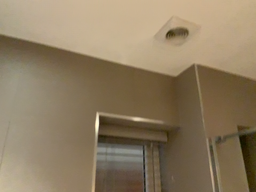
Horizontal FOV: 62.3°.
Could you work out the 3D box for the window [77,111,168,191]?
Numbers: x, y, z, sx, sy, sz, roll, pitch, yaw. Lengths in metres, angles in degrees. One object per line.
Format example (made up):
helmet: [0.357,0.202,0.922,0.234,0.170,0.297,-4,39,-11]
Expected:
window: [-0.030,0.680,1.260,0.530,1.110,0.180,10,-24,-23]
